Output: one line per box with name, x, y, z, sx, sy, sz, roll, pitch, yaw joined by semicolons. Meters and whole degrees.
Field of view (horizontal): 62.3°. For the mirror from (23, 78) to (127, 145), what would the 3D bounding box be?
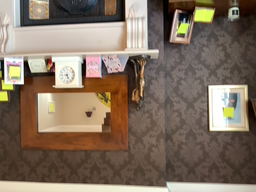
mirror;-0.440;0.120;1.750;0.850;0.510;0.120;0;-179;10
